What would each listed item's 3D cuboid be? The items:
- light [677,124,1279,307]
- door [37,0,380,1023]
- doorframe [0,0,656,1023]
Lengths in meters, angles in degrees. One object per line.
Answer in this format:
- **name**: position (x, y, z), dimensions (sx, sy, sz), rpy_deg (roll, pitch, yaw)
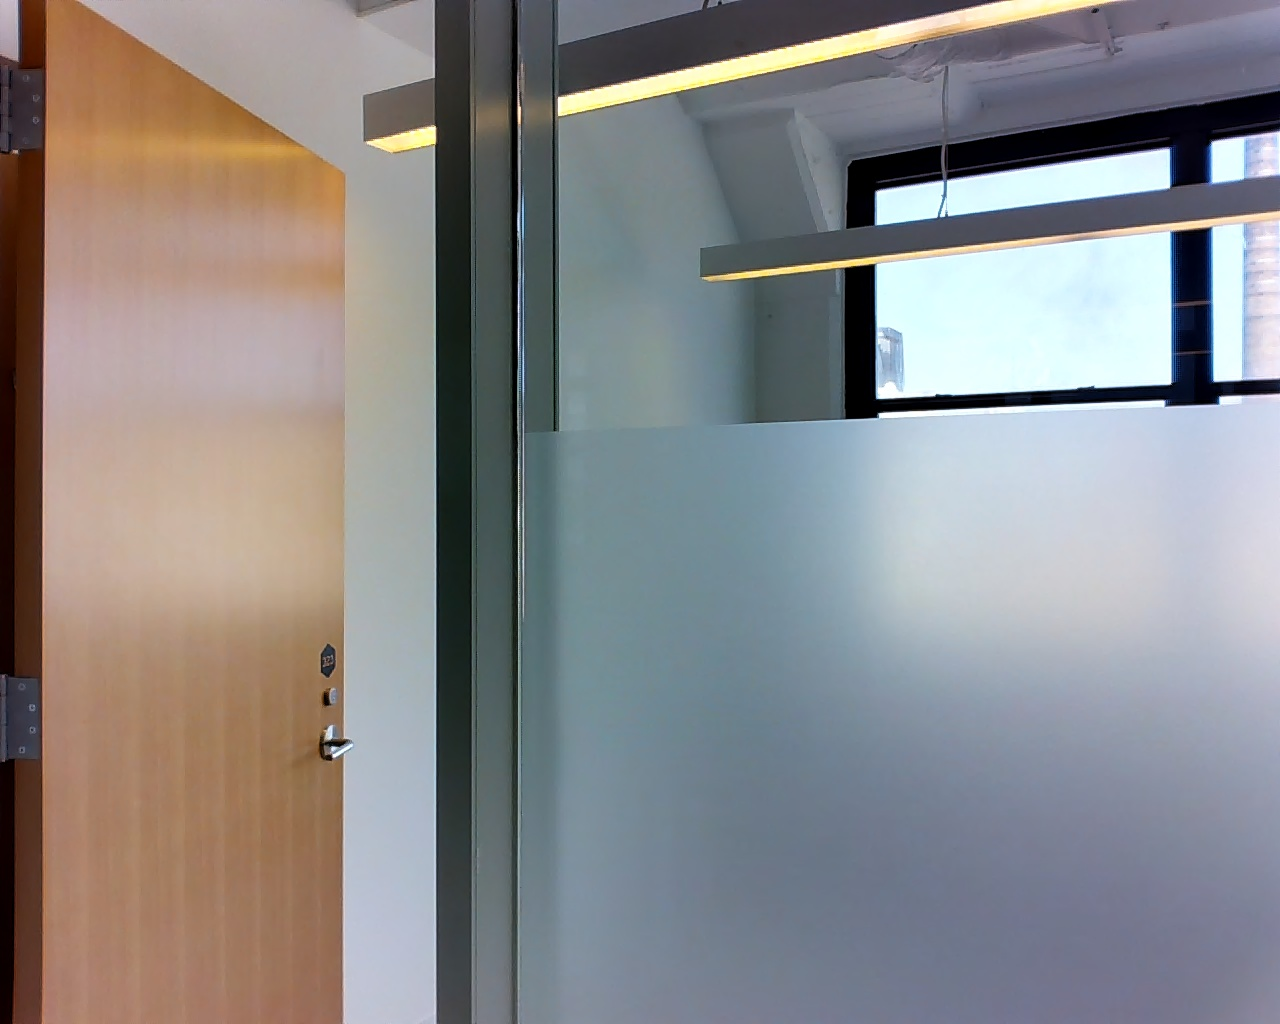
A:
- **light**: position (1.280, -0.870, 3.130), dimensions (2.490, 0.260, 0.280), rpy_deg (0, 0, 29)
- **door**: position (-0.720, 0.330, 1.980), dimensions (0.070, 2.230, 0.990), rpy_deg (0, 0, 10)
- **doorframe**: position (-0.500, 0.330, 1.230), dimensions (1.020, 2.240, 0.290), rpy_deg (0, 0, 29)
